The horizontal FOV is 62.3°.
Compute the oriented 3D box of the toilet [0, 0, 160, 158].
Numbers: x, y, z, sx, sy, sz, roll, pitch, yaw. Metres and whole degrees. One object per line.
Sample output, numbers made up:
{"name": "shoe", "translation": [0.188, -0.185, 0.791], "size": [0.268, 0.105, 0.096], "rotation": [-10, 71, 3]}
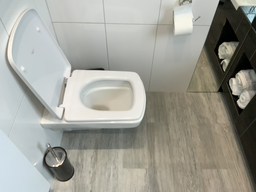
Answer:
{"name": "toilet", "translation": [-0.160, -0.040, 1.150], "size": [0.550, 0.850, 0.390], "rotation": [5, 52, 2]}
